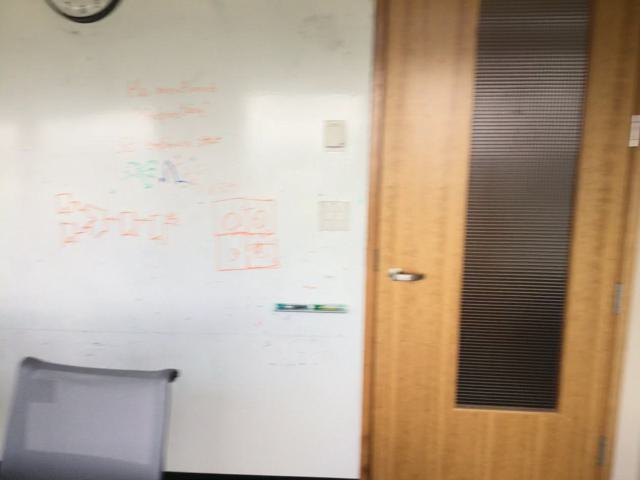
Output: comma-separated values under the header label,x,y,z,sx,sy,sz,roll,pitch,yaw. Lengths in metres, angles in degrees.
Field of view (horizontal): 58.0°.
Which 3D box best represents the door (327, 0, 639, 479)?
label,x,y,z,sx,sy,sz,roll,pitch,yaw
door,0.730,-0.040,2.140,1.160,2.380,0.180,7,6,6
